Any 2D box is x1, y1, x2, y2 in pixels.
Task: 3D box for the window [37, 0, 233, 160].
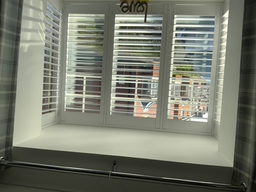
[{"bbox_3d":[0.040,-0.650,2.140,1.800,2.330,0.270,4,-177,8],"label":"window"}]
